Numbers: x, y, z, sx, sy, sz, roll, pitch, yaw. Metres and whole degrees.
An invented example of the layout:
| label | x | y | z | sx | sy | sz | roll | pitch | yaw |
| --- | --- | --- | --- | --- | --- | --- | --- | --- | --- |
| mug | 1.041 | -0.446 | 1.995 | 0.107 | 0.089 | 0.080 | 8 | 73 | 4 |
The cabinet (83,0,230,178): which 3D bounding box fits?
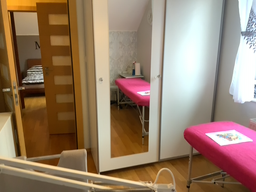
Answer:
| label | x | y | z | sx | sy | sz | roll | pitch | yaw |
| --- | --- | --- | --- | --- | --- | --- | --- | --- | --- |
| cabinet | 0.300 | -0.280 | 2.640 | 1.530 | 2.190 | 0.650 | -5 | 16 | -18 |
